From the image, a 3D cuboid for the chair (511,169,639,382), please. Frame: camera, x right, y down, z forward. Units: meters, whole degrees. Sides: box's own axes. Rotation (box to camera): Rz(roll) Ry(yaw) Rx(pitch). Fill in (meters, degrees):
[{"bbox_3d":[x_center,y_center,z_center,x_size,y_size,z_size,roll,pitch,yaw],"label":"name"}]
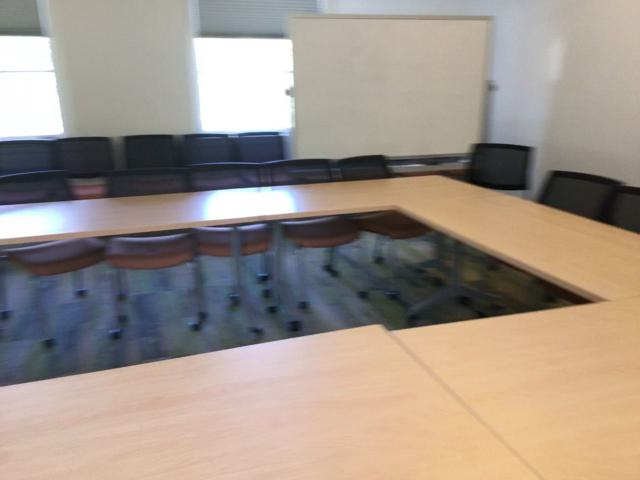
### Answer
[{"bbox_3d":[1.280,0.130,2.700,0.520,0.840,0.450,-7,15,-20],"label":"chair"}]
